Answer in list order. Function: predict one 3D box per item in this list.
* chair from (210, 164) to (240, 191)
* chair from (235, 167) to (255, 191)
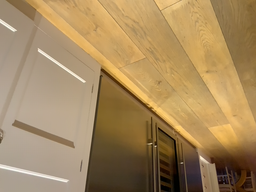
[{"bbox_3d":[2.270,2.090,4.900,0.500,0.880,0.480,-15,145,27],"label":"chair"},{"bbox_3d":[2.890,2.210,5.060,0.410,0.880,0.390,-14,145,26],"label":"chair"}]
